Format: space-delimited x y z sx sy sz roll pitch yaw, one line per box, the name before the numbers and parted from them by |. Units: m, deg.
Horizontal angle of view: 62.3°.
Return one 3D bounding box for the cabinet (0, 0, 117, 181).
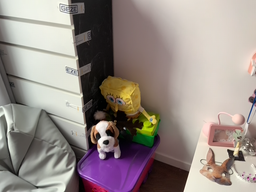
cabinet | -0.460 -0.100 1.490 0.610 1.310 0.430 14 35 20
